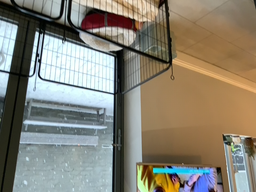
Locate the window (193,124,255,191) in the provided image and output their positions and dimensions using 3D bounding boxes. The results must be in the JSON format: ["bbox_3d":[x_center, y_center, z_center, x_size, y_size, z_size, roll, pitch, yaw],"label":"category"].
[{"bbox_3d":[1.560,1.240,2.930,1.370,1.530,0.360,12,159,-34],"label":"window"}]
